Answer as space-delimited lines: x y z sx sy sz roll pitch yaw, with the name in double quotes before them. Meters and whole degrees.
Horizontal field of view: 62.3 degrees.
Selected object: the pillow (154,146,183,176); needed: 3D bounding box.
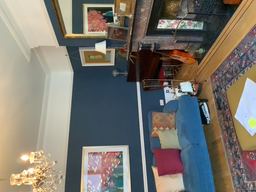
"pillow" 0.640 1.030 3.380 0.150 0.400 0.410 73 -168 -62
